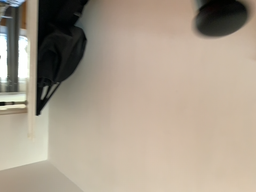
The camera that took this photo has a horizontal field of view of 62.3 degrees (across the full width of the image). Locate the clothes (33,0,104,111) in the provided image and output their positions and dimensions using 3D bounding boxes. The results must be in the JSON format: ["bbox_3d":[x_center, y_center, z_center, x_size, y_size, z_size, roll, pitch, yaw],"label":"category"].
[{"bbox_3d":[-0.470,-0.390,1.480,0.250,0.800,0.880,-1,-170,-30],"label":"clothes"}]
